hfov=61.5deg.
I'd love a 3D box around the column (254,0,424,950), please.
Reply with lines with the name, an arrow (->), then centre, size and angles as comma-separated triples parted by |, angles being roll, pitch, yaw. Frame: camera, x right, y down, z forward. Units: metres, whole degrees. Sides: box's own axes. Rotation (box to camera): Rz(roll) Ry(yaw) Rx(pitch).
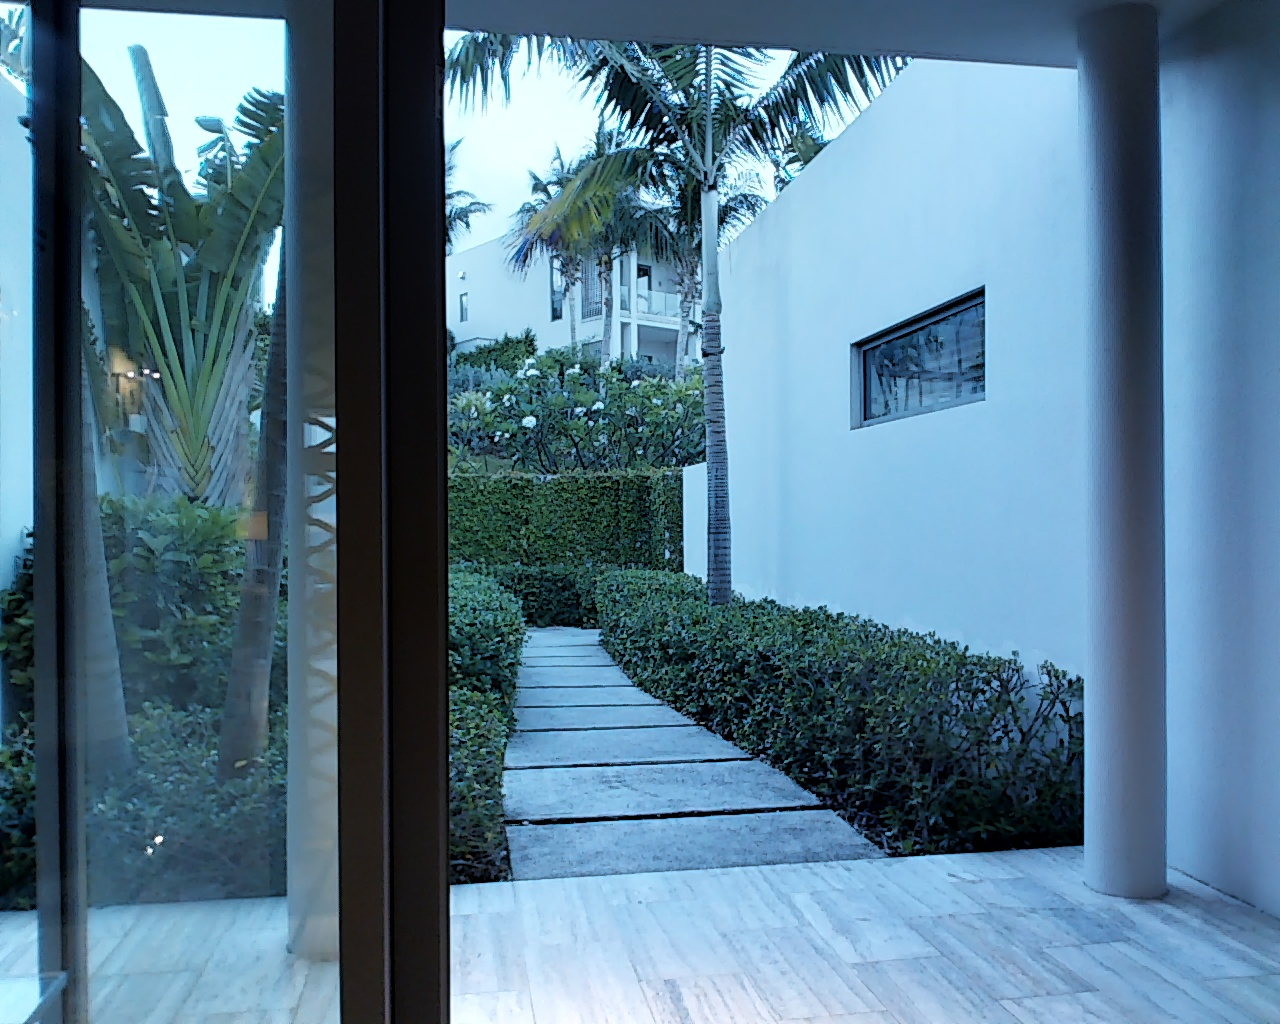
column -> -0.940, -0.230, 3.420 | 0.450, 3.050, 0.400 | -1, 0, -10
